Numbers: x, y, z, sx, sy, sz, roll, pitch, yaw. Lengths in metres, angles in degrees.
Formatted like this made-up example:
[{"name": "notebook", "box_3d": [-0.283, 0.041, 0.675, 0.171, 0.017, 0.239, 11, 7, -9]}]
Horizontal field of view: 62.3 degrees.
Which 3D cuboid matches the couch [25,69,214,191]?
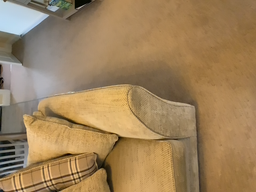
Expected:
[{"name": "couch", "box_3d": [-0.100, 1.040, 1.390, 1.090, 0.710, 2.190, -6, 83, 43]}]
